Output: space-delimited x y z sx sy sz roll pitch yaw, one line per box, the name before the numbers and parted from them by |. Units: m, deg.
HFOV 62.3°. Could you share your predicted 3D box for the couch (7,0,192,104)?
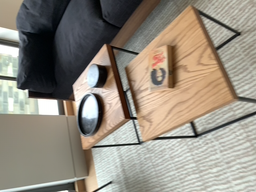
couch | -0.220 -0.790 1.500 1.990 0.780 0.810 -42 55 41
